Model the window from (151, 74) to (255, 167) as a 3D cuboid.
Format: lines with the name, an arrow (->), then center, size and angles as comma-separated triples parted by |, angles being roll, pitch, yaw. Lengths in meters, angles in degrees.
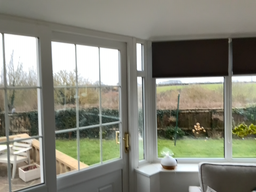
window -> 1.480, 0.260, 2.300 | 2.430, 0.990, 0.120 | -1, 3, 7

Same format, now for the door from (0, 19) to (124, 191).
door -> -0.720, 0.510, 1.760 | 1.650, 2.170, 0.050 | -3, 3, -38
